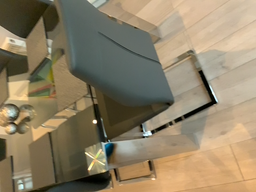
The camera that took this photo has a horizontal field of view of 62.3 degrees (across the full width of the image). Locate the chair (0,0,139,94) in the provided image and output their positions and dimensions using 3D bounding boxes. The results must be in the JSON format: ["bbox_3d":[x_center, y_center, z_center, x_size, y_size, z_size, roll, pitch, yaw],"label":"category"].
[{"bbox_3d":[-0.460,-0.390,1.520,0.420,1.020,0.580,-22,71,39],"label":"chair"}]

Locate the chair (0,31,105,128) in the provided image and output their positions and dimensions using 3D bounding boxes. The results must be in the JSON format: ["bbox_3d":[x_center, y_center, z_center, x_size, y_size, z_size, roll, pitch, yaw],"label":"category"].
[{"bbox_3d":[-0.770,-0.090,1.780,0.420,1.010,0.590,-29,67,37],"label":"chair"}]

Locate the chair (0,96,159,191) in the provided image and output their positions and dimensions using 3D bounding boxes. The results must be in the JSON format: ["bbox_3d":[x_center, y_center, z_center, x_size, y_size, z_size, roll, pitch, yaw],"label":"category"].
[{"bbox_3d":[-0.350,0.370,1.330,0.460,1.040,0.560,-23,71,39],"label":"chair"}]

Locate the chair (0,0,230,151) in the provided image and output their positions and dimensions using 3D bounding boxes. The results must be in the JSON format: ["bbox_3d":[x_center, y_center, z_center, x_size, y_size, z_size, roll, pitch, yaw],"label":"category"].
[{"bbox_3d":[-0.020,-0.070,1.080,0.580,1.020,0.450,-29,67,37],"label":"chair"}]
